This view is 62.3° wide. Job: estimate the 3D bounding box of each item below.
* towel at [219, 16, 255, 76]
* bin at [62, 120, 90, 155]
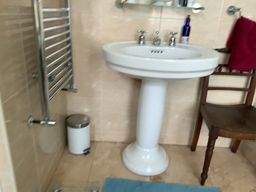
[{"bbox_3d":[0.830,-0.340,1.440,0.280,0.360,0.180,3,22,-1],"label":"towel"},{"bbox_3d":[-0.390,0.320,1.630,0.170,0.210,0.140,4,22,2],"label":"bin"}]
